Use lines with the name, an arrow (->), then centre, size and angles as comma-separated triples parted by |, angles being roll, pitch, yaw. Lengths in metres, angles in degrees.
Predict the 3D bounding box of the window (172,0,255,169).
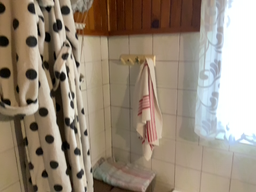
window -> 0.580, -0.210, 0.910 | 0.720, 1.080, 0.150 | 7, 16, 29
